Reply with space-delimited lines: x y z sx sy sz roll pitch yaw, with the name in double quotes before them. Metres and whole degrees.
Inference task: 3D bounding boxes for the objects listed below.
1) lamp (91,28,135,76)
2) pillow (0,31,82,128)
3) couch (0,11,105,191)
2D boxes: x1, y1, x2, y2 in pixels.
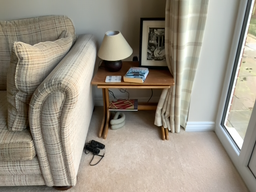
"lamp" -0.090 -0.340 1.580 0.280 0.260 0.360 1 29 2
"pillow" -0.540 -0.140 1.290 0.150 0.440 0.600 -20 11 13
"couch" -1.230 -0.030 1.410 2.000 0.860 0.970 -1 29 0
